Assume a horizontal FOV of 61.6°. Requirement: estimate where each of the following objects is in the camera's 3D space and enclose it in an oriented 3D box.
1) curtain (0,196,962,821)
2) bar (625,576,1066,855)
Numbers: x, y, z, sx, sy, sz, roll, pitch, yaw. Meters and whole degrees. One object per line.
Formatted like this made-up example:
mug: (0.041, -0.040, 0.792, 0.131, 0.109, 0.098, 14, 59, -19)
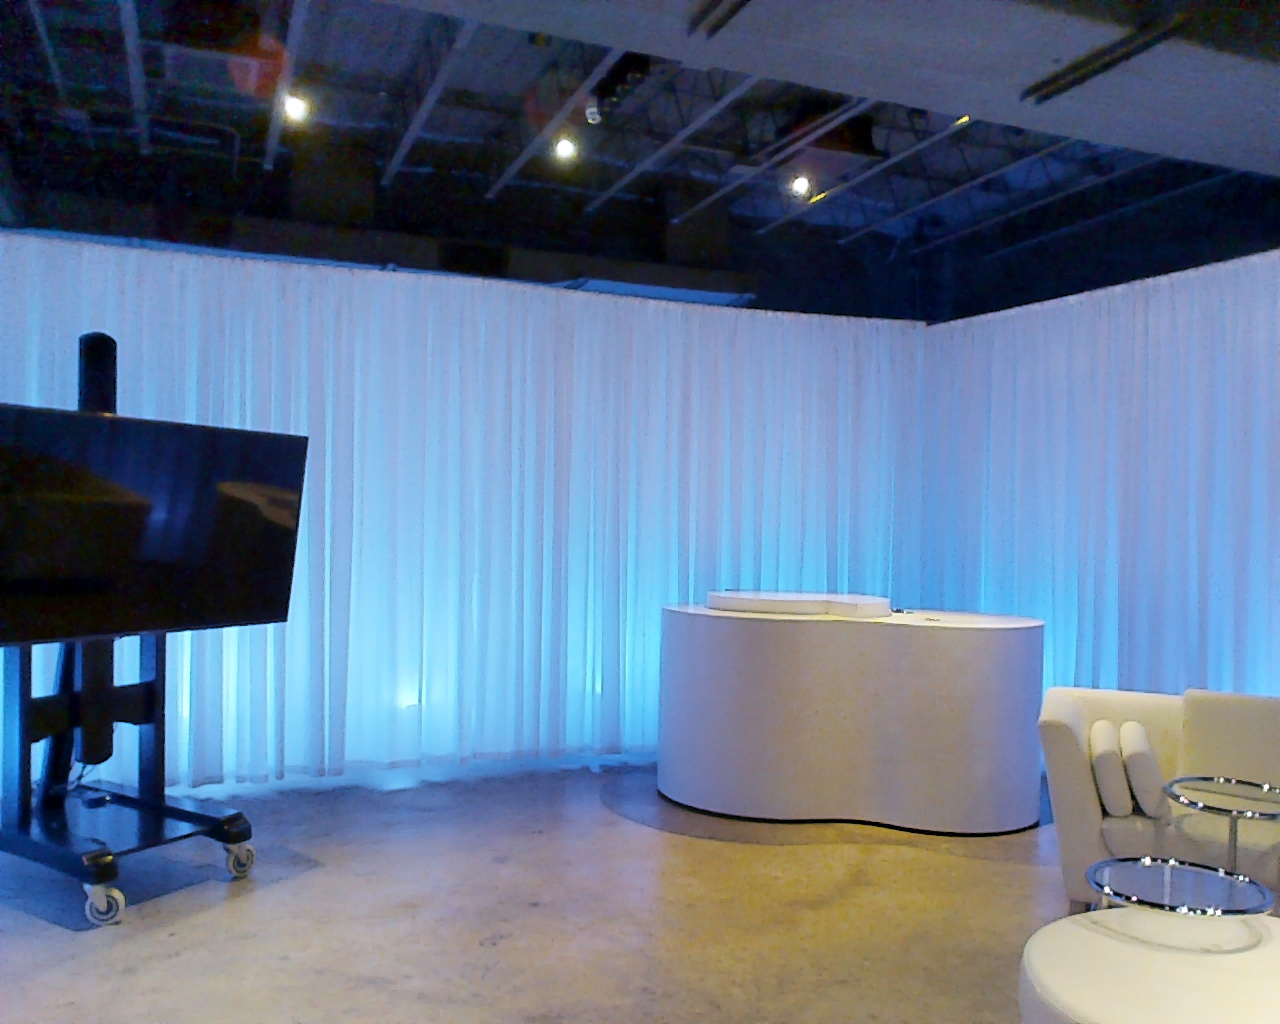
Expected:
curtain: (-0.590, 0.010, 6.240, 5.809, 2.990, 0.220, 1, 0, -22)
bar: (1.120, 0.960, 5.710, 2.060, 1.100, 1.330, 1, 0, 19)
